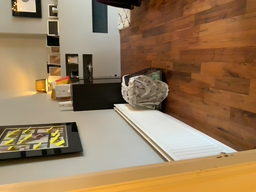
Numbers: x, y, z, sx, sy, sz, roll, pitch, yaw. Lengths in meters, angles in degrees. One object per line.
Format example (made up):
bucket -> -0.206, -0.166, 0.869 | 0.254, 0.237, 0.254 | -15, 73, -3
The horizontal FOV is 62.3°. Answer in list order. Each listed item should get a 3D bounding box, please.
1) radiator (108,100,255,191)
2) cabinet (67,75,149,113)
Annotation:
radiator -> 0.390, 0.380, 2.340 | 2.330, 0.730, 0.160 | -148, 58, -69
cabinet -> -0.430, -0.100, 3.870 | 1.100, 1.270, 0.460 | -148, 58, -69
